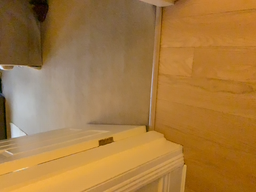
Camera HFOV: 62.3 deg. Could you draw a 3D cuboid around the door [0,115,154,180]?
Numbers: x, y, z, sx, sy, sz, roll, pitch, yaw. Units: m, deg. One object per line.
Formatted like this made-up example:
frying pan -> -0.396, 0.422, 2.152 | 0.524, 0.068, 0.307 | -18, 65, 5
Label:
door -> -0.880, 0.310, 1.010 | 0.840, 2.120, 0.050 | 0, 96, 47
